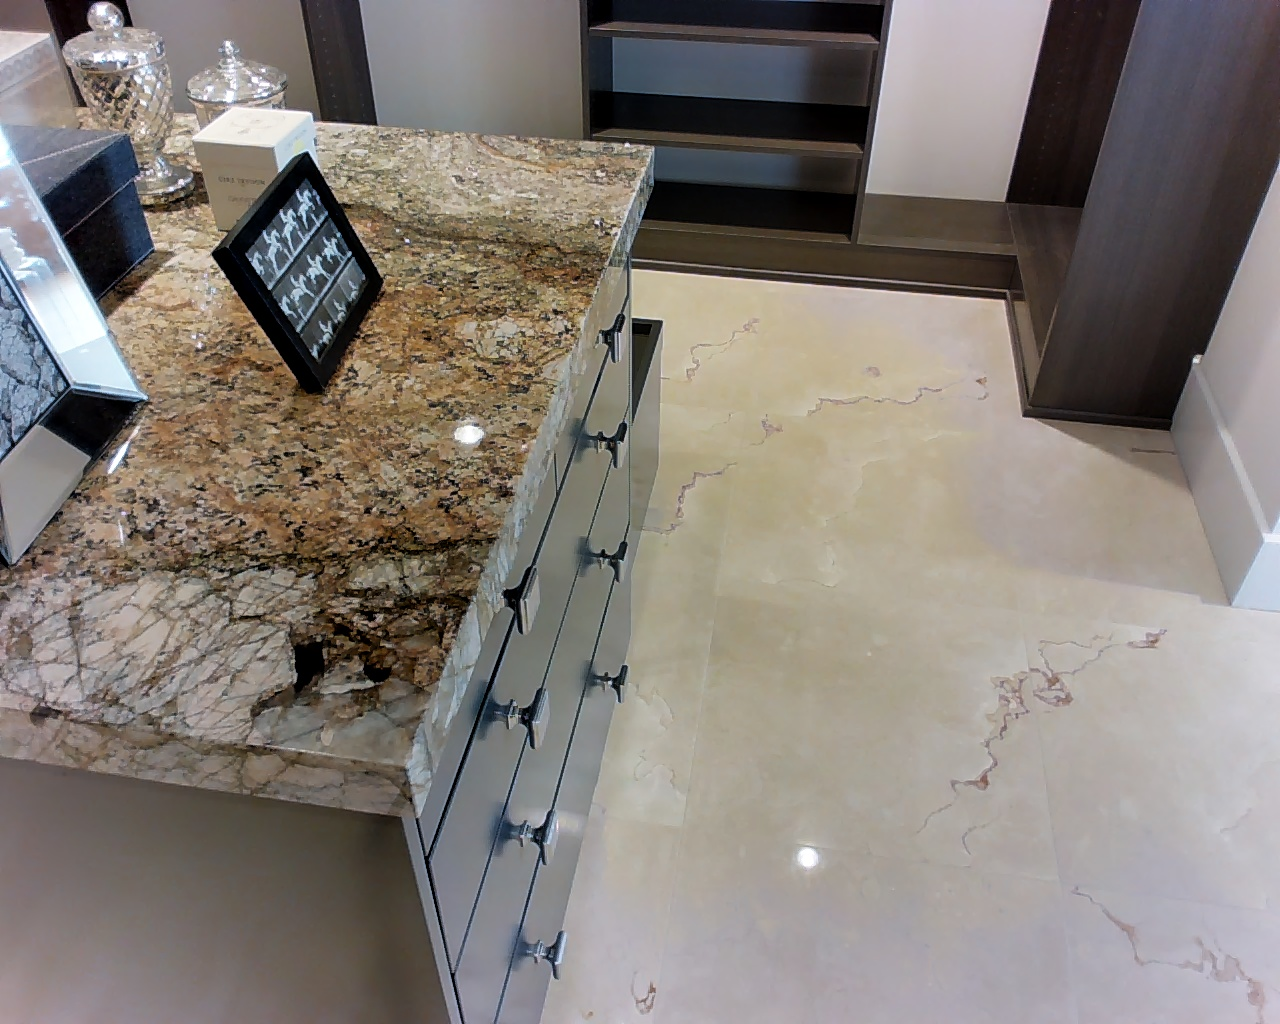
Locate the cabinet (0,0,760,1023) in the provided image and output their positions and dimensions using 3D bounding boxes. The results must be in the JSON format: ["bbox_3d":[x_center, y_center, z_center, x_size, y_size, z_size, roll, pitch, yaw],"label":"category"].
[{"bbox_3d":[-0.820,-0.030,1.650,1.780,1.070,1.600,7,41,8],"label":"cabinet"}]

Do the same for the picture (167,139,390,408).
[{"bbox_3d":[-0.330,-0.230,1.020,0.050,0.160,0.220,-10,37,18],"label":"picture"}]
